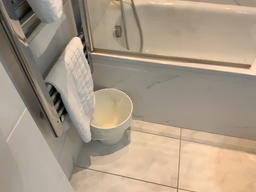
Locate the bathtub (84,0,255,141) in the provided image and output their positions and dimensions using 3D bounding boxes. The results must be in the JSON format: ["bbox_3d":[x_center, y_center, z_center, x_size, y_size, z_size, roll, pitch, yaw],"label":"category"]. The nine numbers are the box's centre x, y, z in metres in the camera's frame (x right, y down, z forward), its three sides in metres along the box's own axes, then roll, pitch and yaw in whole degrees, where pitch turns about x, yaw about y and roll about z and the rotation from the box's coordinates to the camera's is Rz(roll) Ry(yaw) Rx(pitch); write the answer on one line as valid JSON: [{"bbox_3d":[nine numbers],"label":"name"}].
[{"bbox_3d":[0.650,-0.180,1.360,1.640,0.520,0.680,9,49,7],"label":"bathtub"}]
